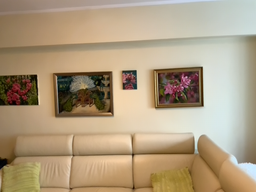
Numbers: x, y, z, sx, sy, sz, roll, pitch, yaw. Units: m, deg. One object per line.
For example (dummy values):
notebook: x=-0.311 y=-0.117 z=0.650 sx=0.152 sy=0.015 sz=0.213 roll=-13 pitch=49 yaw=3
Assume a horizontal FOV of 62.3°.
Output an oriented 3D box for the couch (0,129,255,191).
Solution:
couch: x=-0.250 y=0.940 z=2.220 sx=2.570 sy=0.950 sz=1.080 roll=-1 pitch=4 yaw=6
